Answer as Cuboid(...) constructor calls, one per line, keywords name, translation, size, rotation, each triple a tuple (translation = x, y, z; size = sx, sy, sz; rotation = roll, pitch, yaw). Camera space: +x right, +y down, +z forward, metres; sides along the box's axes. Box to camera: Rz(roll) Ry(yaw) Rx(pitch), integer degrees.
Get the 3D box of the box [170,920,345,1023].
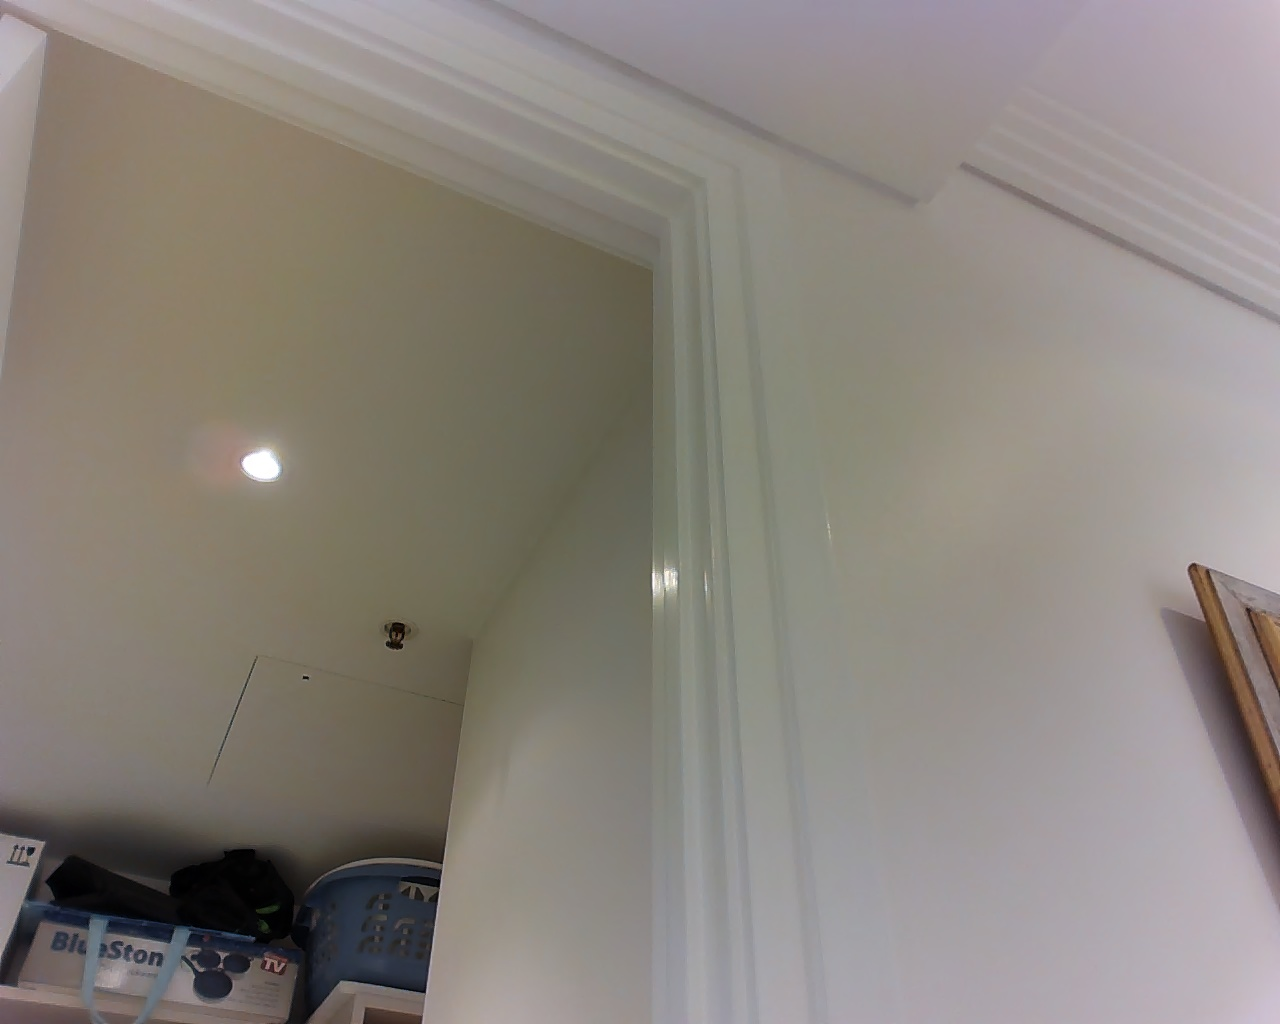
Cuboid(name="box", translation=(-0.910, 1.120, 2.560), size=(0.330, 0.160, 0.210), rotation=(19, -45, -19))
